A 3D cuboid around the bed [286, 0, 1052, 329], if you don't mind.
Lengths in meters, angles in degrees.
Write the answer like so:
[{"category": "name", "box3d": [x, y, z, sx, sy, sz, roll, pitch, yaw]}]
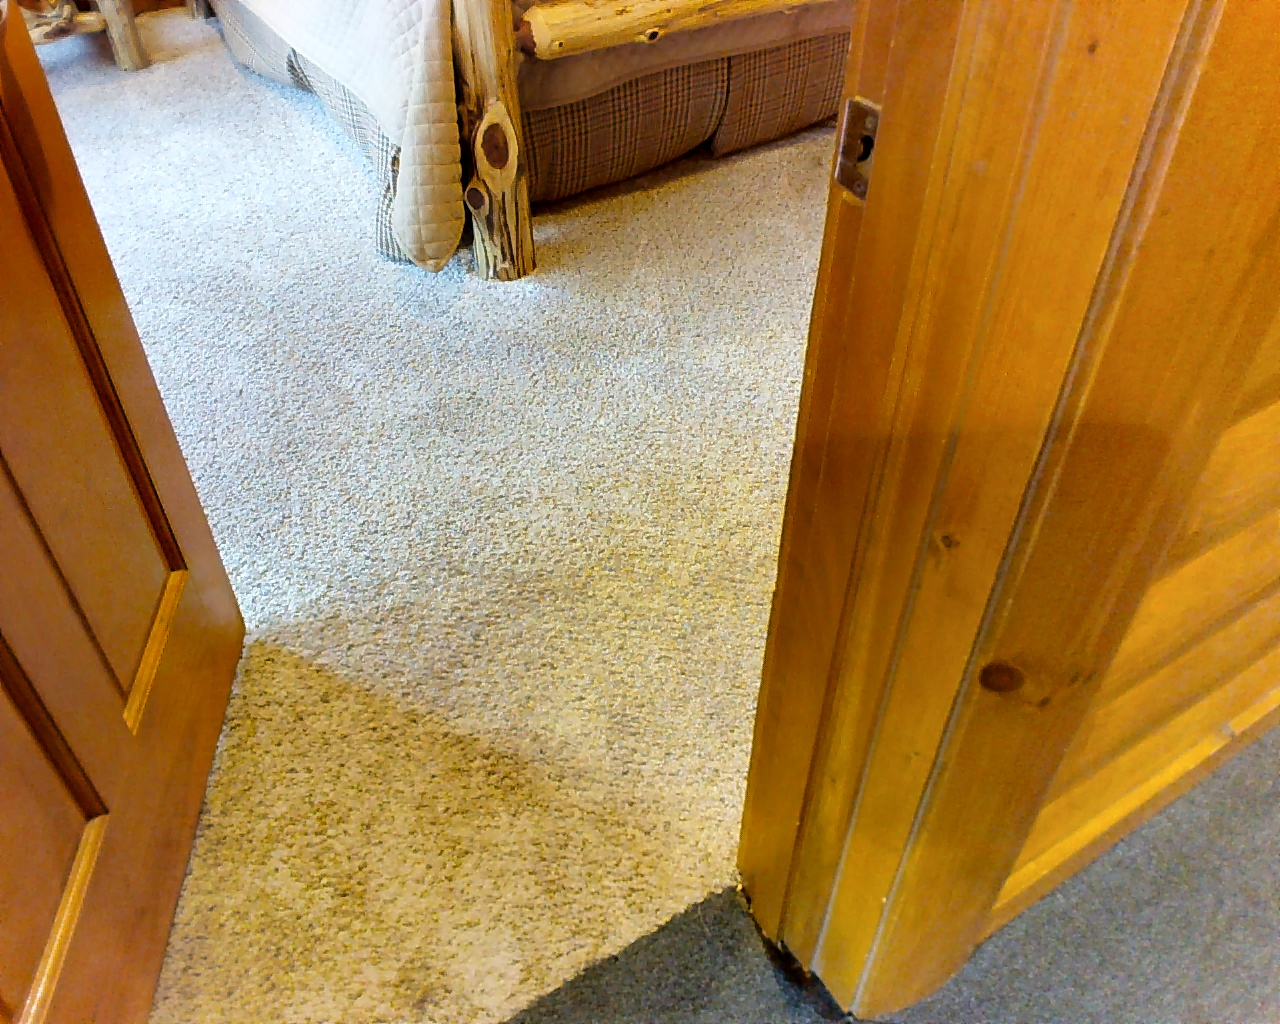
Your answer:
[{"category": "bed", "box3d": [0.170, -1.160, 2.250, 1.750, 1.020, 0.340, -24, 48, -23]}]
